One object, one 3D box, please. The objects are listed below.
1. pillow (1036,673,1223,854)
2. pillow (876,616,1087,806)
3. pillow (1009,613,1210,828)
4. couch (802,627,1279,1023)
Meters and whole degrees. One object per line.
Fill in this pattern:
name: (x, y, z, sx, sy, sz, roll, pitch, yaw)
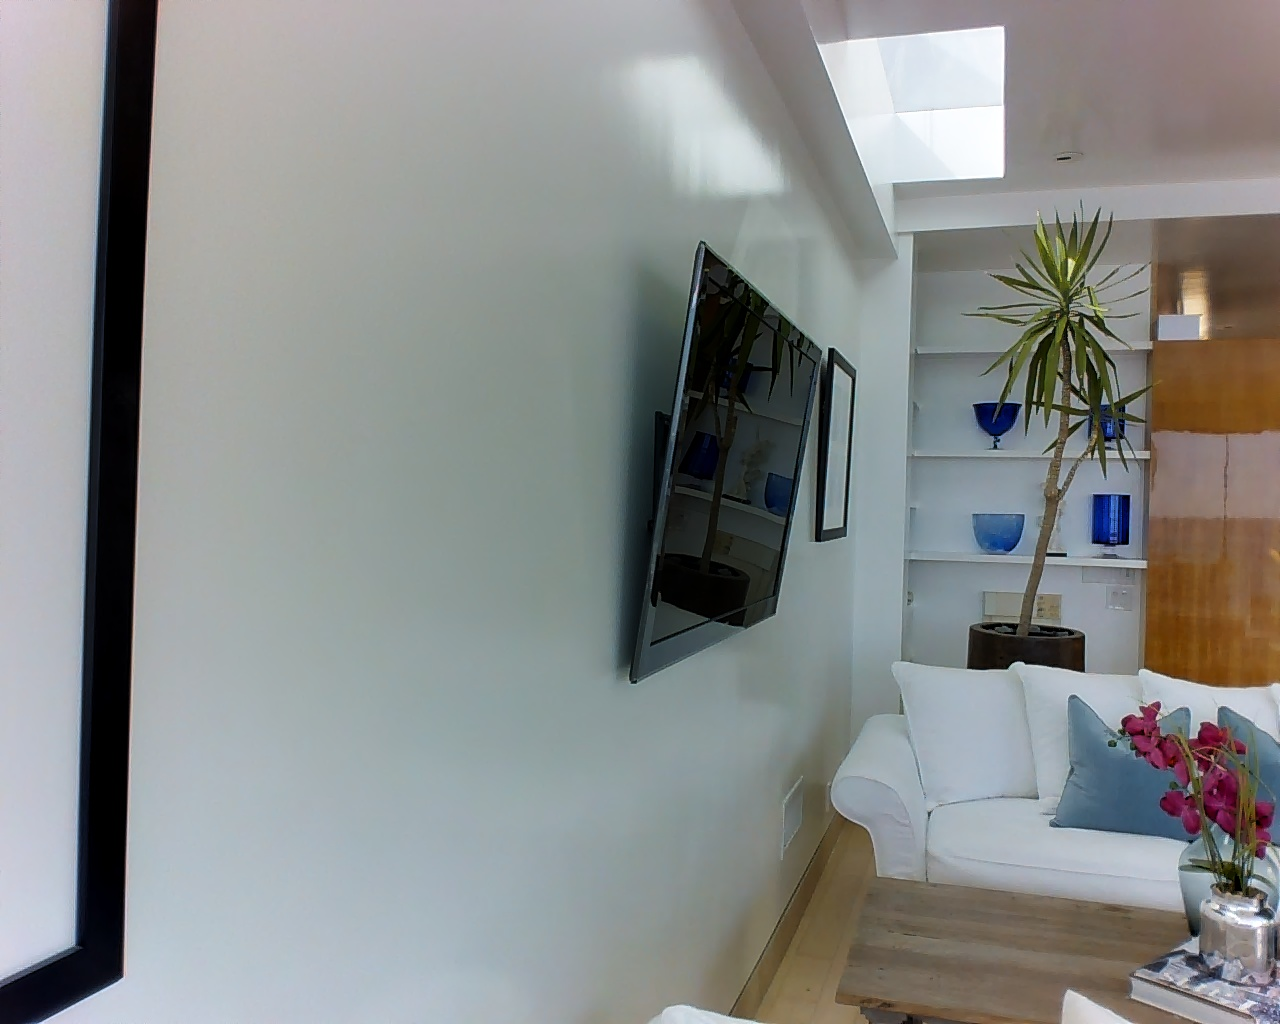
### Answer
pillow: (1.649, 0.850, 3.680, 0.530, 0.470, 0.300, 2, 25, 19)
pillow: (1.299, 0.760, 4.160, 0.610, 0.560, 0.350, -5, 26, -11)
pillow: (1.739, 0.770, 4.020, 0.610, 0.560, 0.300, -16, 28, -14)
couch: (1.899, 1.010, 3.700, 2.469, 0.970, 1.150, 1, 1, 19)
